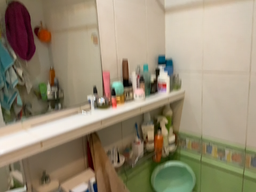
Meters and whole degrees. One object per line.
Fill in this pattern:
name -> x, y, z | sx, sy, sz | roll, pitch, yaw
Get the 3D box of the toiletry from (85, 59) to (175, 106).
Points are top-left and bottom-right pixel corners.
toiletry -> 0.050, -0.100, 1.190 | 0.120, 0.170, 0.590 | 9, 17, 44
